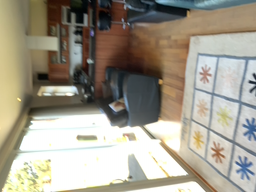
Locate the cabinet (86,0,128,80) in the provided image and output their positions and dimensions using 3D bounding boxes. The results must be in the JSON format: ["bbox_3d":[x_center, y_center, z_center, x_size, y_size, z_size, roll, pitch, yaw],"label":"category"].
[{"bbox_3d":[-0.600,-1.690,5.660,0.740,0.890,2.410,-145,57,-68],"label":"cabinet"}]
